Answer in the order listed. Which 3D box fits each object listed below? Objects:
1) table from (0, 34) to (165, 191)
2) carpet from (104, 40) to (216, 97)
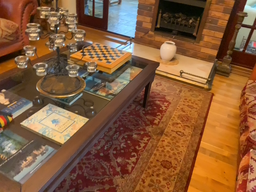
[{"bbox_3d":[-0.410,0.060,1.470,0.850,0.480,1.320,22,36,20],"label":"table"},{"bbox_3d":[0.440,-0.430,2.840,1.320,0.120,0.760,21,36,18],"label":"carpet"}]
